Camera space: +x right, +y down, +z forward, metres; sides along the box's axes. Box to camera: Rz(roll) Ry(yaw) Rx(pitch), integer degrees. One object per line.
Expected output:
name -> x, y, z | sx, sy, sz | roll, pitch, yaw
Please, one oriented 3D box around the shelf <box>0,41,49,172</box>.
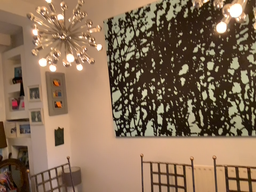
shelf -> -1.580, 0.170, 3.150 | 0.650, 1.780, 0.260 | -7, -2, 32
